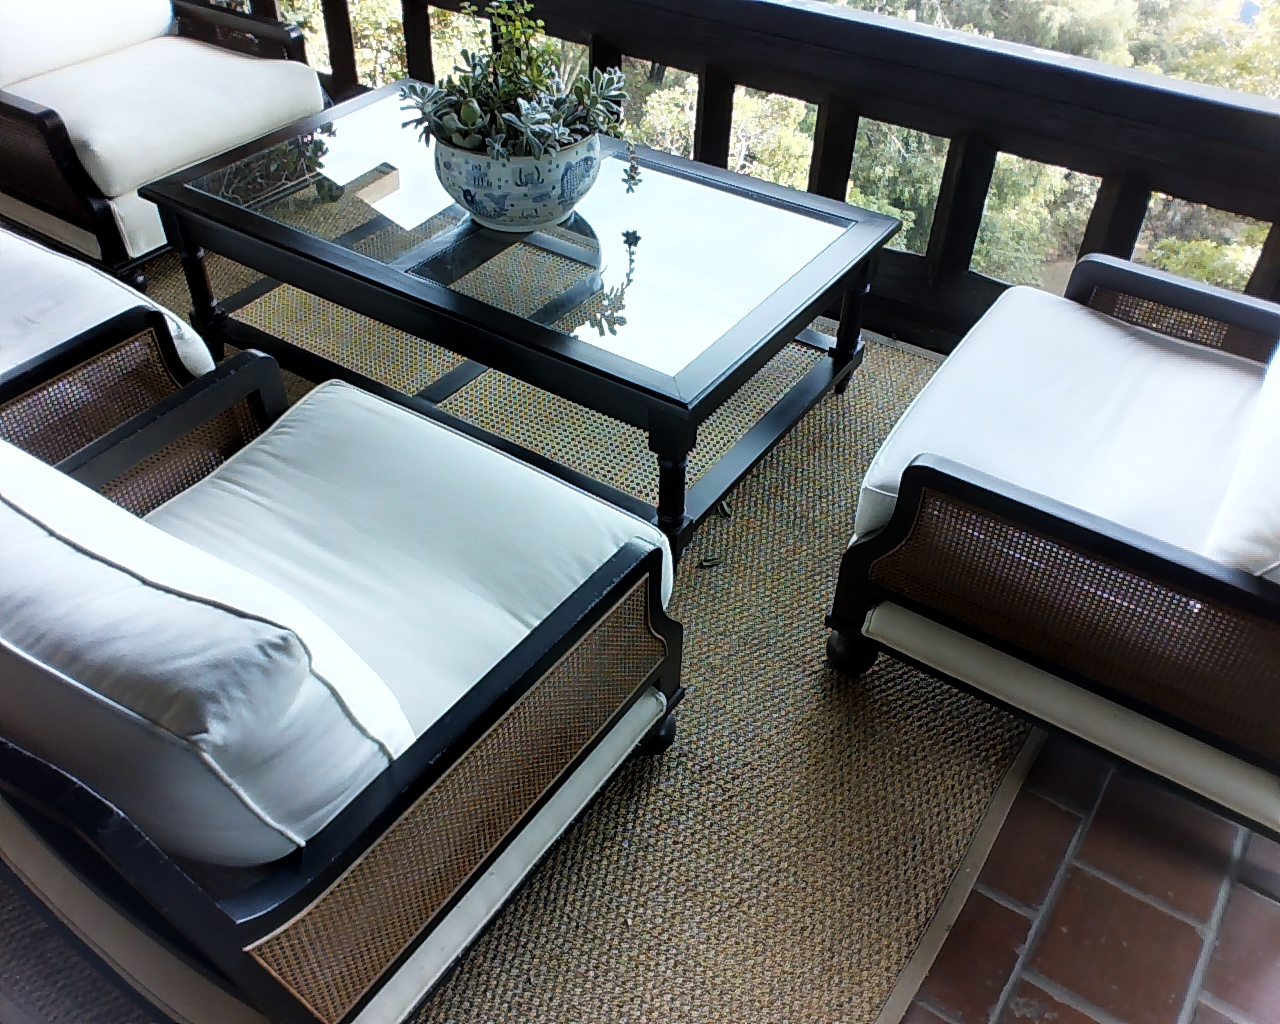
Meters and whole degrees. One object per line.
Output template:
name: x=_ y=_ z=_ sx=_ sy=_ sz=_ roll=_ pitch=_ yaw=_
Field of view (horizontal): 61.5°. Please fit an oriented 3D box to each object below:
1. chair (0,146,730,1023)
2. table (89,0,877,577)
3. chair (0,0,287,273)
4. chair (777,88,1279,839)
chair: x=-0.510 y=0.110 z=1.590 sx=0.870 sy=0.800 sz=0.930 roll=26 pitch=47 yaw=25
table: x=-0.380 y=-0.640 z=2.470 sx=1.590 sy=0.780 sz=0.630 roll=26 pitch=47 yaw=25
chair: x=-1.630 y=-1.290 z=3.070 sx=1.010 sy=0.790 sz=0.510 roll=26 pitch=47 yaw=25
chair: x=0.890 y=-0.110 z=1.790 sx=1.030 sy=0.740 sz=0.710 roll=26 pitch=47 yaw=25
